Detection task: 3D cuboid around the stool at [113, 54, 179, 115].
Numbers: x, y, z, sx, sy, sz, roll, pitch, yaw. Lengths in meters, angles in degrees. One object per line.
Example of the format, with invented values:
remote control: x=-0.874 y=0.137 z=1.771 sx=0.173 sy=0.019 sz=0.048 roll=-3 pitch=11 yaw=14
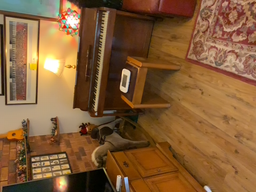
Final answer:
stool: x=0.190 y=-0.140 z=2.490 sx=0.450 sy=0.510 sz=0.560 roll=43 pitch=127 yaw=54
